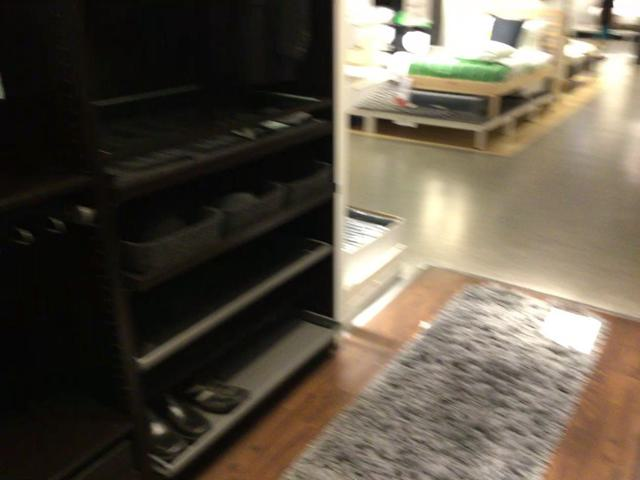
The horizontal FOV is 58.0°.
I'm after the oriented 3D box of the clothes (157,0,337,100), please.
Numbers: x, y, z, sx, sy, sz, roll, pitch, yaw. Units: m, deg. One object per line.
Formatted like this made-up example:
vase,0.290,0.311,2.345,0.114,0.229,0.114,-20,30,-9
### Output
clothes,-0.240,-0.870,1.800,0.510,0.770,0.280,14,28,32
